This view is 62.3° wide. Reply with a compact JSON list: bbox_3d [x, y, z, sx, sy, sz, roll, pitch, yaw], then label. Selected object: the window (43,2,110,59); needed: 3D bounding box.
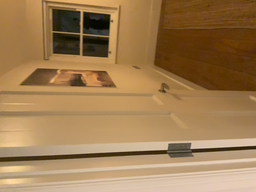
[{"bbox_3d":[-0.910,-1.150,3.820,0.120,1.120,0.880,-121,34,-66],"label":"window"}]
